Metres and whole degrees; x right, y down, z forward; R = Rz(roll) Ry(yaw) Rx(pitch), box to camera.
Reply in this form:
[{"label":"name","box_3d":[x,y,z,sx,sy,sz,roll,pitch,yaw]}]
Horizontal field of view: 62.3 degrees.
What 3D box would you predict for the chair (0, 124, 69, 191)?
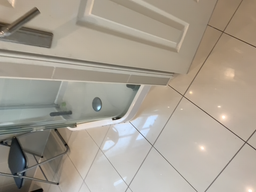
[{"label":"chair","box_3d":[-1.070,0.630,2.050,0.410,0.750,0.490,43,117,34]}]
